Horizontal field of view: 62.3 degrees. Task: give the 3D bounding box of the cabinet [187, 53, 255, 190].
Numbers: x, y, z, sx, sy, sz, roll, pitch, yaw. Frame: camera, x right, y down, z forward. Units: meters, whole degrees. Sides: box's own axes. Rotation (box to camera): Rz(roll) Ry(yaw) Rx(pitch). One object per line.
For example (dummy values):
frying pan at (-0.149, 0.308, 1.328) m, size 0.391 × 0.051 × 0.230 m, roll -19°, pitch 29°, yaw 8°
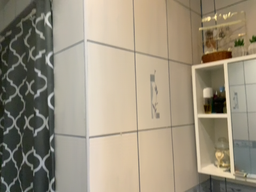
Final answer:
cabinet at (0.650, 0.120, 1.080) m, size 0.630 × 0.640 × 0.190 m, roll -5°, pitch -5°, yaw 44°
